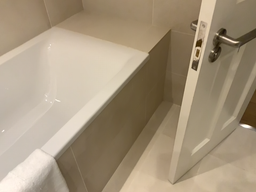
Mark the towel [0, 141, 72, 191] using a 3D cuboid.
[{"bbox_3d":[-0.340,0.330,0.680,0.140,0.230,0.250,22,49,23],"label":"towel"}]
